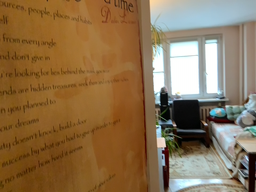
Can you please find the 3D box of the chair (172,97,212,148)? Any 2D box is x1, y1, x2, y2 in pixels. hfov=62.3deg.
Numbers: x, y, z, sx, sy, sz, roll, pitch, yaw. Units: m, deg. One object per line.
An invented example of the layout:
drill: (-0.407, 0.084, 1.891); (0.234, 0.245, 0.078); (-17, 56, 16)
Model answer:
chair: (1.340, 0.540, 4.540); (0.670, 0.900, 0.750); (-3, 7, 7)
